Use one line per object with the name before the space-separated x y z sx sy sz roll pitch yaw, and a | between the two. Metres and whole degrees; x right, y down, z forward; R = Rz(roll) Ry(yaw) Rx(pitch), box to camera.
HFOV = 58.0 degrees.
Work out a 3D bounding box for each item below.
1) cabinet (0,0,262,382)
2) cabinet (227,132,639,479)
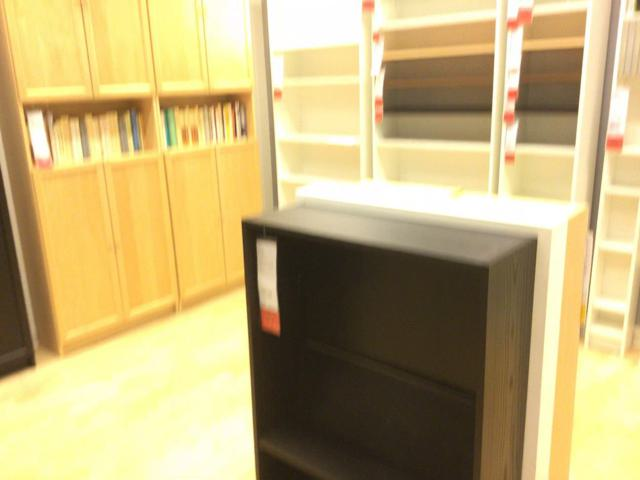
cabinet | -1.140 -0.610 3.430 0.710 2.290 1.590 7 15 30
cabinet | 0.220 0.460 1.740 0.500 1.220 0.920 -24 45 -39
